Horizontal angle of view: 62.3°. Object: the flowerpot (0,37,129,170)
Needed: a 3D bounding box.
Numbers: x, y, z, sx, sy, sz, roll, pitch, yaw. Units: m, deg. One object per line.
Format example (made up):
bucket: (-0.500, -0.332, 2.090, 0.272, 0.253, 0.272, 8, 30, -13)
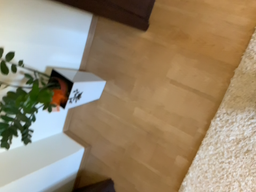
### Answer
flowerpot: (-0.420, -0.010, 1.280, 0.300, 0.870, 0.530, 29, 110, 24)
